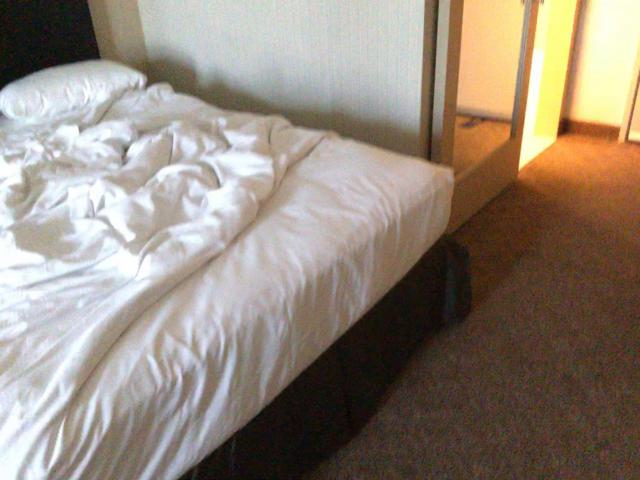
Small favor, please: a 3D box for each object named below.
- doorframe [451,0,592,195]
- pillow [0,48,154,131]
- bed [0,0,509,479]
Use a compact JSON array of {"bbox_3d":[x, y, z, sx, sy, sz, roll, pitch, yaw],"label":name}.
[{"bbox_3d":[1.090,-1.400,2.910,0.300,2.100,1.030,19,36,35],"label":"doorframe"},{"bbox_3d":[-1.130,-0.680,2.530,0.480,0.170,0.580,18,36,35],"label":"pillow"},{"bbox_3d":[-0.840,-0.270,1.800,2.150,1.500,1.750,18,36,35],"label":"bed"}]
